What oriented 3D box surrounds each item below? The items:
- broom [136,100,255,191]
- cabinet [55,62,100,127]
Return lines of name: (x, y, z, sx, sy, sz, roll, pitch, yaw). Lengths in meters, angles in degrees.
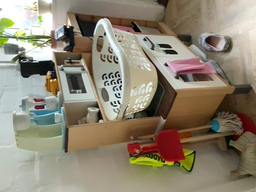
broom: (0.420, 0.250, 1.140, 0.330, 0.640, 0.260, -116, 32, -42)
cabinet: (-0.320, -0.020, 1.280, 0.340, 0.200, 0.210, -117, 33, -43)
